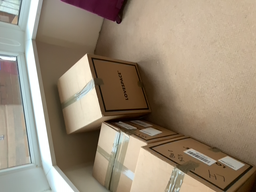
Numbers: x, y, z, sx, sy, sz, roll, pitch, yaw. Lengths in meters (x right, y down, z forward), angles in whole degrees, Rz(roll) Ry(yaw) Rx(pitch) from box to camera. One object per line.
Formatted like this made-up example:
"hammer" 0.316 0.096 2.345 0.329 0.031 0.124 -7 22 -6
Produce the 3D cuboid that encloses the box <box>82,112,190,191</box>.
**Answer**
"box" 0.060 0.430 1.560 0.460 0.530 0.480 24 105 40

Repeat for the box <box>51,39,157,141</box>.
"box" -0.210 -0.020 1.760 0.520 0.540 0.590 -30 69 38

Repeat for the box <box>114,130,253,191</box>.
"box" 0.330 0.490 1.240 0.500 0.620 0.370 18 101 41
